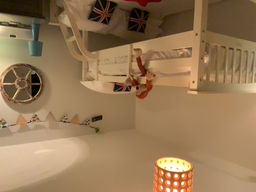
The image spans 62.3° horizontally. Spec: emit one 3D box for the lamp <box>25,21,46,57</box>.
[{"bbox_3d":[-1.120,-0.670,2.560,0.190,0.370,0.310,-1,-174,-32],"label":"lamp"}]
